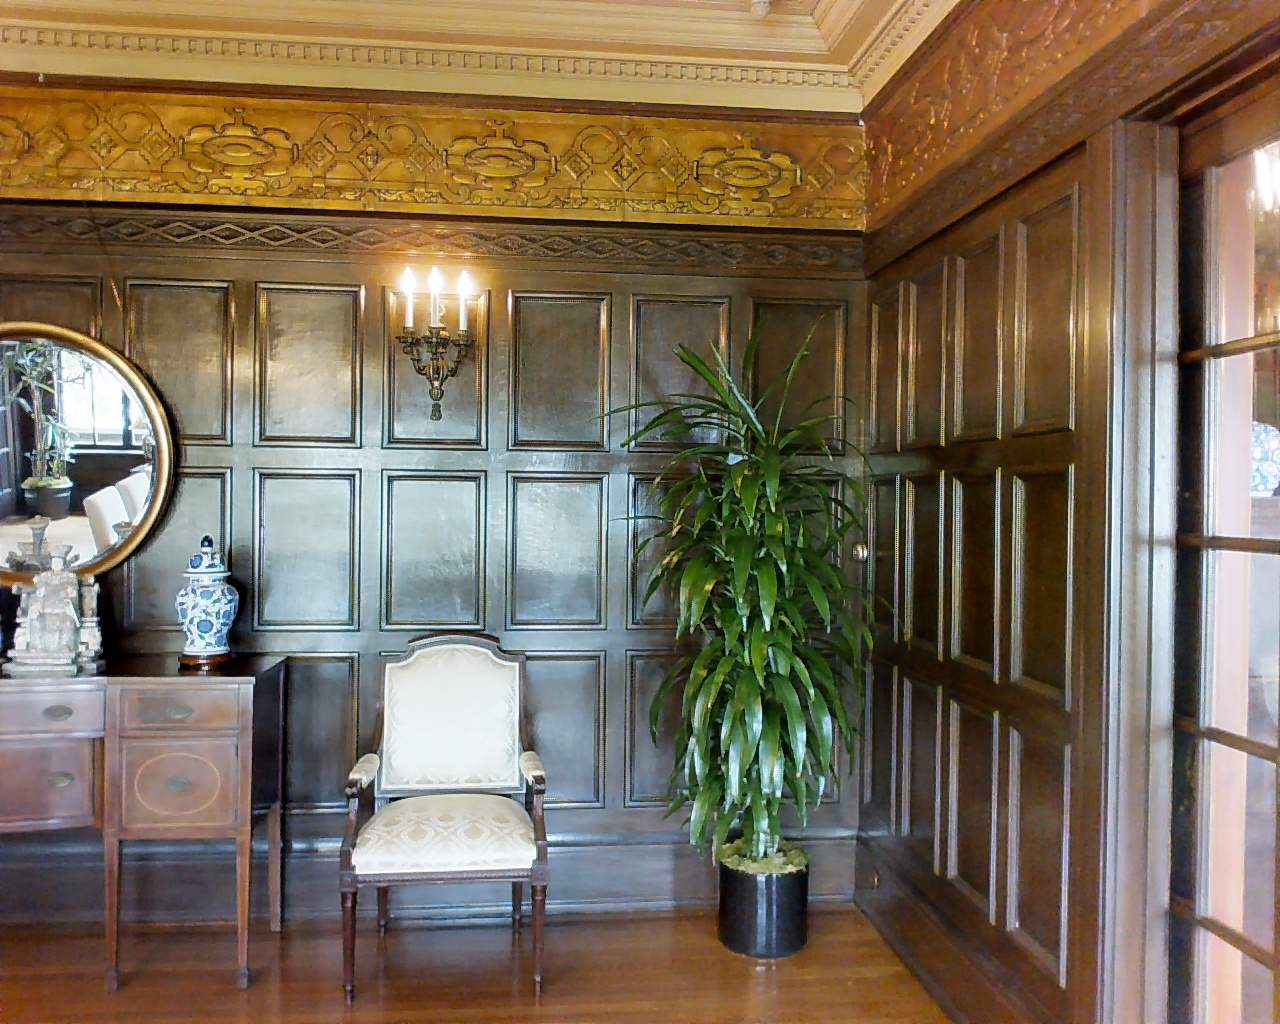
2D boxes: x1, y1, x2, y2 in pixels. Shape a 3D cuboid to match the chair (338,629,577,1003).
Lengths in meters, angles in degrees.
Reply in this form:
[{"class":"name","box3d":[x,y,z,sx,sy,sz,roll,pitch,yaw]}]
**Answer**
[{"class":"chair","box3d":[-0.620,0.970,3.710,0.710,1.040,0.790,1,1,-9]}]
